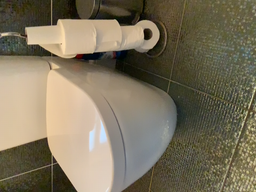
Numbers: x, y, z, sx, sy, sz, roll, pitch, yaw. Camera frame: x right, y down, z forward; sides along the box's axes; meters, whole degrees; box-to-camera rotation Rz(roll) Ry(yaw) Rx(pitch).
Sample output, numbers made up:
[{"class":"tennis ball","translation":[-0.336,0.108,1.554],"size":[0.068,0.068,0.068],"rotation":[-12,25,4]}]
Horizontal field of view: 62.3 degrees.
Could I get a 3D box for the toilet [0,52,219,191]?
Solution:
[{"class":"toilet","translation":[-0.220,0.100,0.780],"size":[0.640,0.810,0.400],"rotation":[28,118,45]}]
